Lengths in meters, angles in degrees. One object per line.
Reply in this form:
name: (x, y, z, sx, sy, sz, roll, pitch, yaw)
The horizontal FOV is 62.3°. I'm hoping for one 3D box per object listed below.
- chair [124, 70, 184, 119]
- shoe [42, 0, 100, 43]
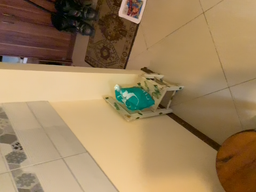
chair: (0.180, -0.020, 1.510, 0.270, 0.240, 0.230, 40, 120, 38)
shoe: (-0.580, -0.790, 2.140, 0.310, 0.400, 0.370, 37, 118, 39)
